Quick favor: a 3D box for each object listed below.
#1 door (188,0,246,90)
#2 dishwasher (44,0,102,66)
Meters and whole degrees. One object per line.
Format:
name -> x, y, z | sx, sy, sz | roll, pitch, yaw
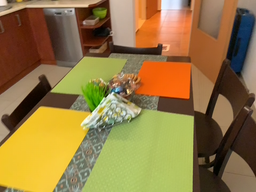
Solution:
door -> 0.970, -1.160, 2.250 | 0.150, 2.030, 0.850 | -4, 33, -2
dishwasher -> -0.740, -0.970, 3.080 | 0.460, 0.850, 0.600 | 6, 34, 13
